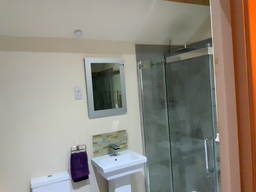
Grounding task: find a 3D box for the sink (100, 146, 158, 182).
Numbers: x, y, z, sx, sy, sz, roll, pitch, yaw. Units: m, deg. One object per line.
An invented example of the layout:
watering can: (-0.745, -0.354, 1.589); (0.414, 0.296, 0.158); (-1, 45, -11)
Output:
sink: (0.000, 0.760, 2.460); (0.540, 0.180, 0.420); (-5, 3, -24)
